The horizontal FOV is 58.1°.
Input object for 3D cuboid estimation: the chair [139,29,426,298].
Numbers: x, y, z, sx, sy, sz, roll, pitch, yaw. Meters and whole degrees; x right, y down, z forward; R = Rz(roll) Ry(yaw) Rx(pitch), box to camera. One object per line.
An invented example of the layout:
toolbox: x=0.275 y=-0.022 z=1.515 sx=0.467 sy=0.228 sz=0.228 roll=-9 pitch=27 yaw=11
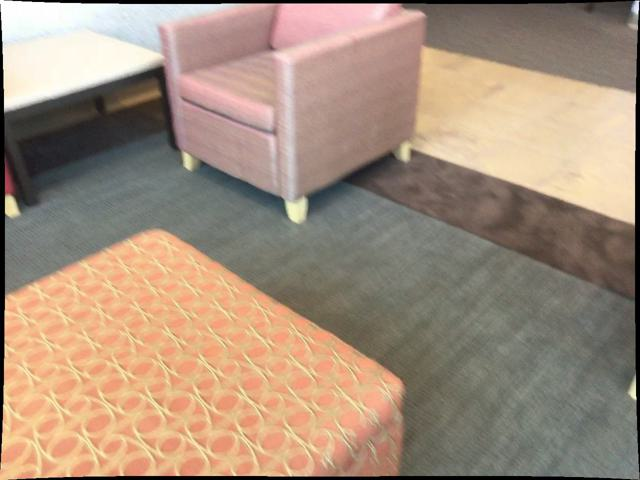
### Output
chair: x=-0.130 y=-0.411 z=2.570 sx=0.819 sy=0.771 sz=0.850 roll=22 pitch=39 yaw=33

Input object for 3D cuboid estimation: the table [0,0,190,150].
table: x=-1.208 y=-0.791 z=2.530 sx=0.859 sy=0.340 sz=0.870 roll=25 pitch=41 yaw=36
